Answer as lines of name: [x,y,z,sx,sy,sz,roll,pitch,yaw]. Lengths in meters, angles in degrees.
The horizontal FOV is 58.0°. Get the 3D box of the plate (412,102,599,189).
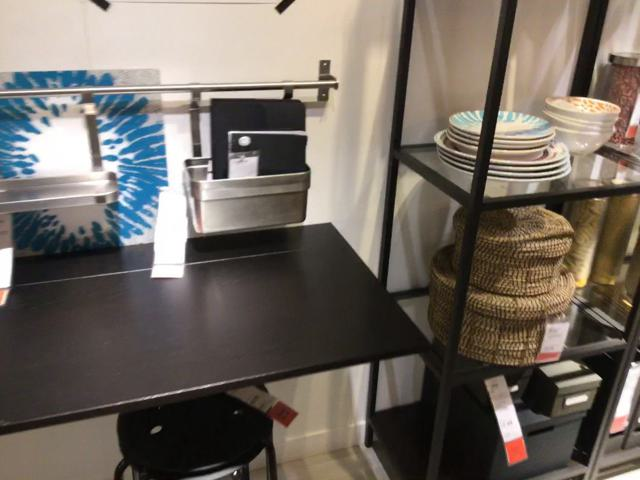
plate: [0.380,-0.210,1.230,0.280,0.090,0.250,-8,27,-14]

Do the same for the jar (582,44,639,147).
jar: [0.750,-0.350,1.390,0.130,0.210,0.130,-8,27,-14]

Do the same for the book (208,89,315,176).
book: [-0.120,-0.220,1.160,0.180,0.120,0.160,-8,27,-14]
